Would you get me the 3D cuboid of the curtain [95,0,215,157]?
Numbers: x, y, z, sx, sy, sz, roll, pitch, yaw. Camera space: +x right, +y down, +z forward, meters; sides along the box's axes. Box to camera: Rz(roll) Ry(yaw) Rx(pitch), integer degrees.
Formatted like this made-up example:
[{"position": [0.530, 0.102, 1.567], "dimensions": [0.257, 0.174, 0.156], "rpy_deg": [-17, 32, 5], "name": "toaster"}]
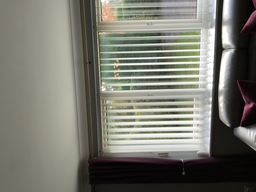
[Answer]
[{"position": [0.300, -0.430, 2.400], "dimensions": [0.070, 1.280, 2.360], "rpy_deg": [-97, 6, -79], "name": "curtain"}]
